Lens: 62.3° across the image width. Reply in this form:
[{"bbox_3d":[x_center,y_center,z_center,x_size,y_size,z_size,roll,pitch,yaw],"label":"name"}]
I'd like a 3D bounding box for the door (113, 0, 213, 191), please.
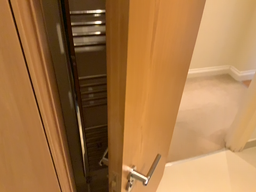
[{"bbox_3d":[0.170,0.050,0.890,0.060,2.030,0.870,18,39,18],"label":"door"}]
